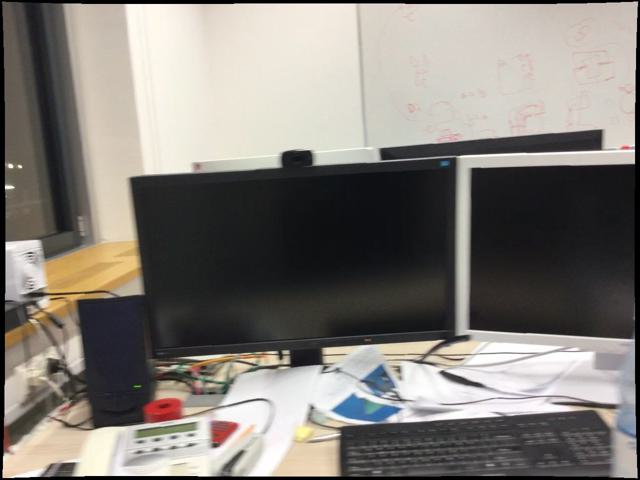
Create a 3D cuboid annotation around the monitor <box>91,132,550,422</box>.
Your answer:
[{"bbox_3d":[0.010,0.070,1.190,0.819,0.531,0.230,-2,11,5],"label":"monitor"}]

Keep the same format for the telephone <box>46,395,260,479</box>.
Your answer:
[{"bbox_3d":[-0.250,0.360,0.920,0.250,0.100,0.290,-2,11,5],"label":"telephone"}]

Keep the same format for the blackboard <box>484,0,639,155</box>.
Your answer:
[{"bbox_3d":[1.429,-0.961,3.070,1.069,0.951,0.110,-2,11,5],"label":"blackboard"}]
